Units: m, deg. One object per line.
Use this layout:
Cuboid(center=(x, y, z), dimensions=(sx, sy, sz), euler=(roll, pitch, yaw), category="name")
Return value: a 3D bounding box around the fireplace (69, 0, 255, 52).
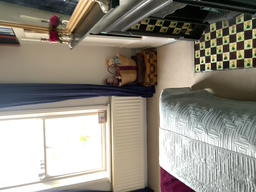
Cuboid(center=(0.310, -0.660, 1.710), dimensions=(1.210, 1.330, 0.380), euler=(-172, 80, -66), category="fireplace")
